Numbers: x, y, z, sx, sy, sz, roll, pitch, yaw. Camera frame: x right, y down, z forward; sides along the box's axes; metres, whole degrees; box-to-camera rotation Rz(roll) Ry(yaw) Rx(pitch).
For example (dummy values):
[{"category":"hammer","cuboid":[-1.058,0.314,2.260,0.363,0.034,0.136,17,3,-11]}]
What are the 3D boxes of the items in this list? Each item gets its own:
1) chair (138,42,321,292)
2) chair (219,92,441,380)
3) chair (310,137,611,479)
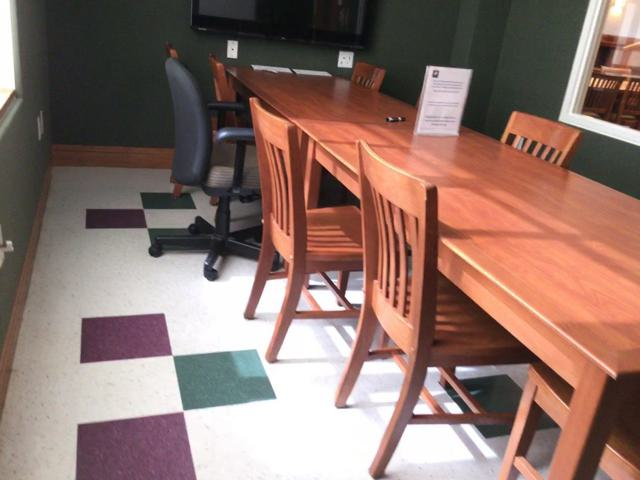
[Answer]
[{"category":"chair","cuboid":[-0.470,-0.370,2.700,0.660,0.940,0.730,-3,24,-20]},{"category":"chair","cuboid":[-0.020,-0.040,2.140,0.590,0.880,0.530,-3,24,-20]},{"category":"chair","cuboid":[0.330,0.200,1.660,0.520,0.880,0.470,-3,24,-20]}]
